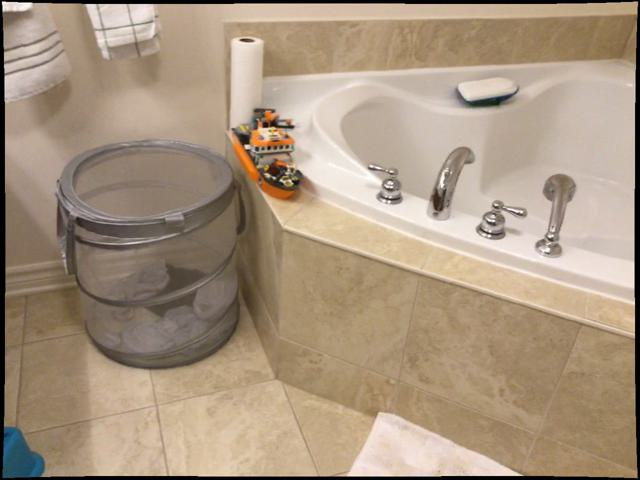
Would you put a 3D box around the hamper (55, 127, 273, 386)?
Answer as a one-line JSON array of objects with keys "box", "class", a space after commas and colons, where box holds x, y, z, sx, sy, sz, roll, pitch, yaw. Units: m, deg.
[{"box": [-0.450, 0.020, 1.660, 0.490, 0.490, 0.480, -8, 37, -20], "class": "hamper"}]

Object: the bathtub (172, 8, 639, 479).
[{"box": [0.799, -0.030, 1.720, 1.939, 0.690, 1.360, 17, 36, 16], "class": "bathtub"}]
